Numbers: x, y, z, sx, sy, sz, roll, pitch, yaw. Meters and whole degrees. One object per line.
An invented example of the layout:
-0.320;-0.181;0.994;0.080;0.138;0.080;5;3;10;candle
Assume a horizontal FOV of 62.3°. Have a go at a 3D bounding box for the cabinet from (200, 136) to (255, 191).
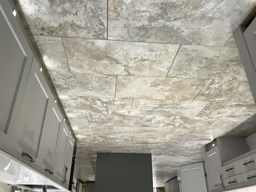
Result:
1.710;1.210;3.750;0.570;0.870;0.480;3;152;-4;cabinet
